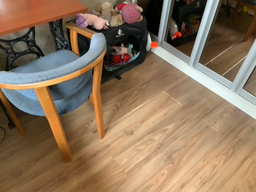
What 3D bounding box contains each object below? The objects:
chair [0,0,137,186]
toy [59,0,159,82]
[{"bbox_3d":[-0.390,-0.030,1.230,0.610,0.730,0.560,-27,54,-26],"label":"chair"},{"bbox_3d":[-0.150,-0.580,1.890,0.690,0.560,0.400,-29,55,-28],"label":"toy"}]
